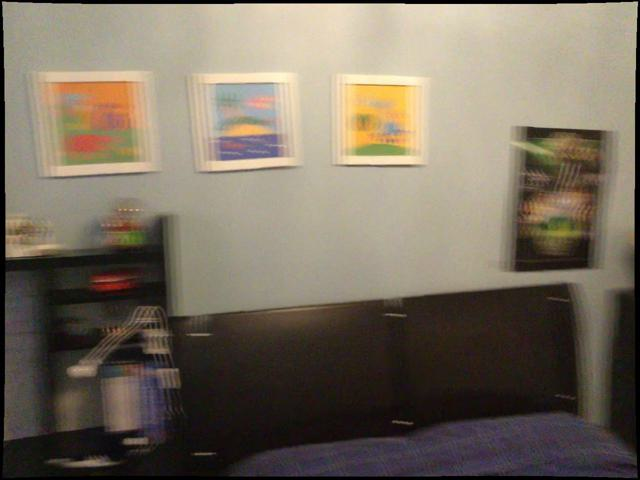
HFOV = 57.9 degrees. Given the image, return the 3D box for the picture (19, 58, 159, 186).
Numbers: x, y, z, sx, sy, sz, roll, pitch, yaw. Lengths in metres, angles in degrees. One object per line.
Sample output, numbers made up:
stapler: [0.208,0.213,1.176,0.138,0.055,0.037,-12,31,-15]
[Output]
picture: [-0.659,-0.340,1.680,0.350,0.350,0.030,-4,10,-17]

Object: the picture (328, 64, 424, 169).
picture: [0.190,-0.410,1.930,0.330,0.330,0.030,-4,10,-17]

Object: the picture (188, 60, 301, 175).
picture: [-0.230,-0.380,1.810,0.340,0.340,0.020,-4,10,-17]
